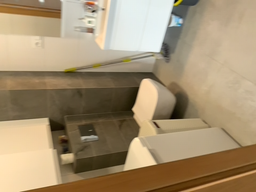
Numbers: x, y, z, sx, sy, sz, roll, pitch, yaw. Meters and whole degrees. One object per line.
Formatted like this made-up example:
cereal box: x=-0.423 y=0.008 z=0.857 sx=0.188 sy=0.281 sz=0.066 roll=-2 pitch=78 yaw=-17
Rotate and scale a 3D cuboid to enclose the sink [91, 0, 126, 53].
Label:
sink: x=-0.190 y=-0.770 z=1.970 sx=0.380 sy=0.150 sz=0.620 roll=-125 pitch=41 yaw=-48
